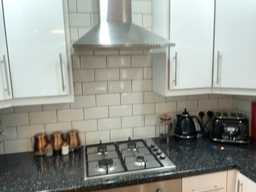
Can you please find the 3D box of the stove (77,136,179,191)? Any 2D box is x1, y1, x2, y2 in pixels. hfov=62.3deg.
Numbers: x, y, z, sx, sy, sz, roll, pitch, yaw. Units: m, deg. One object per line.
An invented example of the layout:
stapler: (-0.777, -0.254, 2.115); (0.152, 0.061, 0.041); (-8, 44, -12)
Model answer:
stove: (-0.050, 0.490, 1.510); (0.600, 0.160, 0.590); (-3, 10, -13)

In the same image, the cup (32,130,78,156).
cup: (-0.540, 0.350, 1.600); (0.310, 0.120, 0.130); (-3, 10, -13)
